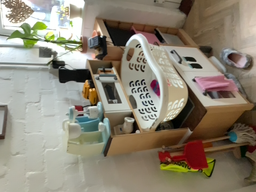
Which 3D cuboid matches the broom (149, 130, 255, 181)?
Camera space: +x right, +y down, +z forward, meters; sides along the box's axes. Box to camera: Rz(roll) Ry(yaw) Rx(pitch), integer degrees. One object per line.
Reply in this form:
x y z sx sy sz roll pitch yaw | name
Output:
0.500 0.360 1.350 0.160 0.710 0.160 -116 34 -43 | broom

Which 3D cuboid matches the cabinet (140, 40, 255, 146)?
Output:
0.500 -0.050 1.620 0.400 0.520 0.680 111 148 -40 | cabinet
